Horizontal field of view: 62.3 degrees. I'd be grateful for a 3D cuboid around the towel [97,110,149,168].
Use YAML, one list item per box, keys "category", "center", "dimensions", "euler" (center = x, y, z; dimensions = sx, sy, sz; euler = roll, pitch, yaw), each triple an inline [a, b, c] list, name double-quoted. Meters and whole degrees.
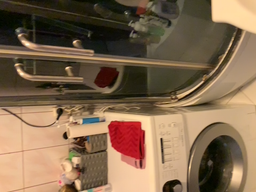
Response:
- category: "towel"
  center: [-0.040, 0.180, 0.990]
  dimensions: [0.360, 0.060, 0.170]
  euler: [10, 100, 57]
